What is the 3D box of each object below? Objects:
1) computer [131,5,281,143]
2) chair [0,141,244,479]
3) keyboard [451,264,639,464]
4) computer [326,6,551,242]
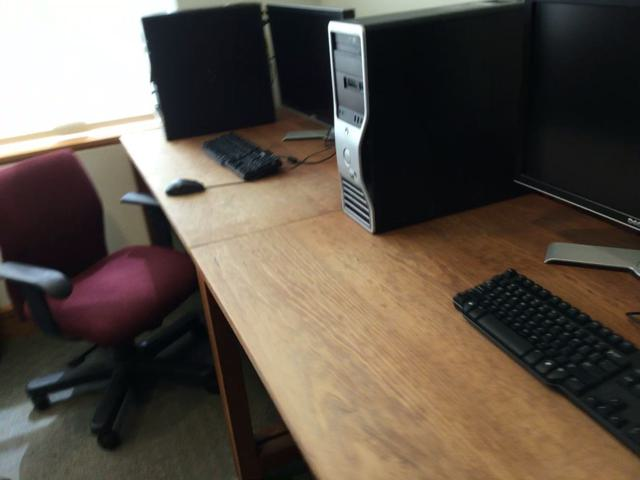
[{"bbox_3d":[-0.420,-0.640,2.190,0.490,0.450,0.220,-10,26,-22],"label":"computer"},{"bbox_3d":[-0.710,0.180,1.890,0.630,0.800,0.610,19,30,35],"label":"chair"},{"bbox_3d":[0.380,0.160,0.830,0.160,0.060,0.410,-10,26,-22],"label":"keyboard"},{"bbox_3d":[0.250,-0.280,1.320,0.420,0.460,0.210,-10,26,-22],"label":"computer"}]
